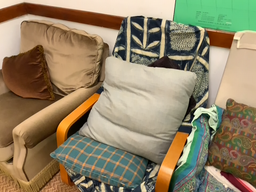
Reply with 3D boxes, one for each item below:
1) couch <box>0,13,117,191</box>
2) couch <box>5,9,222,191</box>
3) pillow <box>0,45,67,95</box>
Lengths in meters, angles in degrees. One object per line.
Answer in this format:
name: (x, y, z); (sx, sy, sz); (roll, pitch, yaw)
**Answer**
couch: (-0.710, -0.020, 1.580); (0.890, 0.810, 0.950); (17, 40, 21)
couch: (0.050, 0.090, 1.370); (0.690, 0.920, 1.050); (17, 40, 21)
pillow: (-0.750, -0.190, 1.550); (0.450, 0.340, 0.180); (15, 78, 25)
